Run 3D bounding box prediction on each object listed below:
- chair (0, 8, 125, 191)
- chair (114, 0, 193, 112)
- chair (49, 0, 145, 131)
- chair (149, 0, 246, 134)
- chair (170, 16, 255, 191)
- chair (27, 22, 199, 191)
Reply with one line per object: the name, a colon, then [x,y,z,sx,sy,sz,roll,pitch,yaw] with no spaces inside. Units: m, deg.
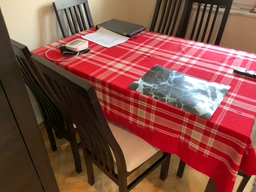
chair: [-0.370,0.020,1.410,0.420,0.990,0.580,28,43,33]
chair: [0.230,-0.460,2.090,0.410,1.000,0.590,28,43,33]
chair: [-0.230,-0.290,1.840,0.580,1.000,0.400,22,40,28]
chair: [0.560,-0.280,1.860,0.440,0.990,0.570,26,42,31]
chair: [0.670,0.130,1.270,0.600,1.000,0.410,20,39,25]
chair: [-0.040,0.200,1.160,0.420,0.990,0.580,28,43,33]
